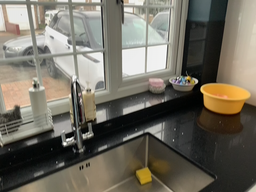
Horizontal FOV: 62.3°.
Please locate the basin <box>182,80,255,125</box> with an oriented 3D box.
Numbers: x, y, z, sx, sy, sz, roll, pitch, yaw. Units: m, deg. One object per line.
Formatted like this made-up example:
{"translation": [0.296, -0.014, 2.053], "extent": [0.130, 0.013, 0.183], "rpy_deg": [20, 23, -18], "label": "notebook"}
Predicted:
{"translation": [0.570, 0.020, 1.340], "extent": [0.270, 0.120, 0.340], "rpy_deg": [-15, 26, -33], "label": "basin"}
